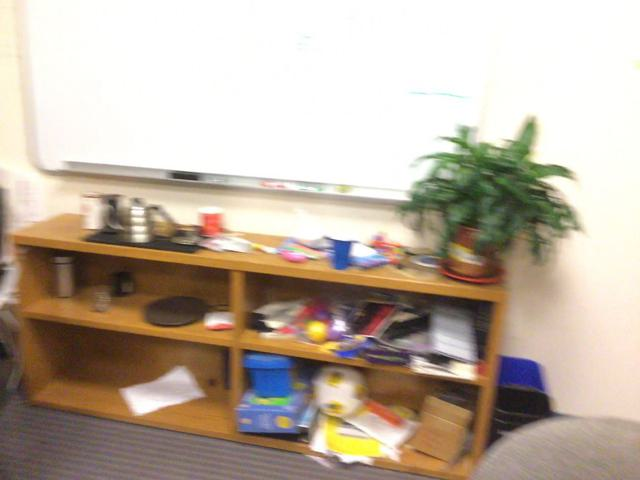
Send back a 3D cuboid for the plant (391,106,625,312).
[{"bbox_3d":[0.520,-0.130,1.780,0.540,0.490,0.480,5,17,8],"label":"plant"}]
